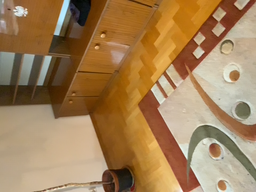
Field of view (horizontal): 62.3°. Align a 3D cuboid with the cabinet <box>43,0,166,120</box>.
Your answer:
[{"bbox_3d":[-0.150,-0.930,2.150,3.280,0.570,0.620,-52,52,39],"label":"cabinet"}]

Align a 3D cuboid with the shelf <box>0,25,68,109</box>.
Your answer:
[{"bbox_3d":[-1.230,-0.290,2.560,0.940,0.660,0.390,-52,52,39],"label":"shelf"}]
